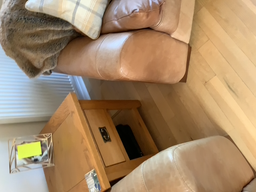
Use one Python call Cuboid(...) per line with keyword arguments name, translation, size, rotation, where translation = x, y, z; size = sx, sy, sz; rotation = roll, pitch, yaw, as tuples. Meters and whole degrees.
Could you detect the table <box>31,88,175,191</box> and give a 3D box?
Cuboid(name="table", translation=(-0.190, 0.350, 1.450), size=(0.600, 0.610, 0.530), rotation=(-45, 61, 34))
